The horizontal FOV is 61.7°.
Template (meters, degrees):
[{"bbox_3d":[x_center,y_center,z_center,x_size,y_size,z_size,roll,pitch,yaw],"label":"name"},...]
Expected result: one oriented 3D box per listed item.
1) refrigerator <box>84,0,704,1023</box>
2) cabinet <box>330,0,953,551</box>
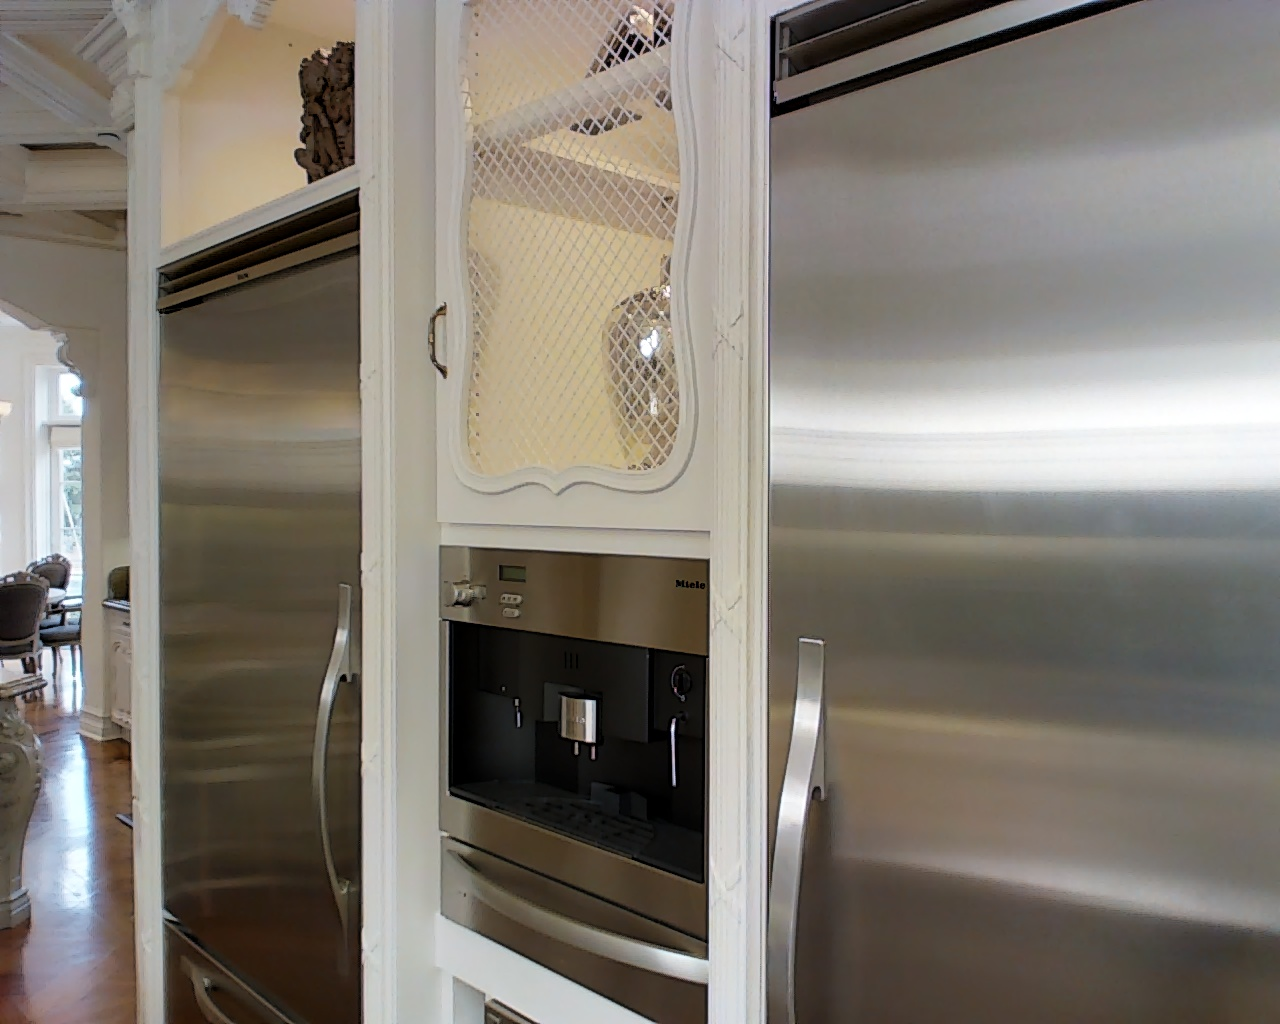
[{"bbox_3d":[-0.540,0.190,2.230,0.840,2.861,1.050,-1,1,-42],"label":"refrigerator"},{"bbox_3d":[-0.030,-0.570,1.520,0.470,1.210,0.780,-1,1,-45],"label":"cabinet"}]
